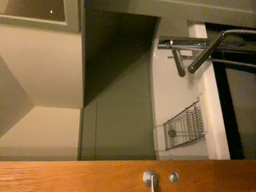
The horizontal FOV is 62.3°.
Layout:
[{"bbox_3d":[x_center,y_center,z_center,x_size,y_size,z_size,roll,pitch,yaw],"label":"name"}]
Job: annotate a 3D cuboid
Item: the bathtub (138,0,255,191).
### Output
[{"bbox_3d":[0.540,0.180,1.400,0.770,0.690,1.790,119,151,-66],"label":"bathtub"}]
